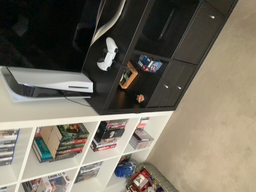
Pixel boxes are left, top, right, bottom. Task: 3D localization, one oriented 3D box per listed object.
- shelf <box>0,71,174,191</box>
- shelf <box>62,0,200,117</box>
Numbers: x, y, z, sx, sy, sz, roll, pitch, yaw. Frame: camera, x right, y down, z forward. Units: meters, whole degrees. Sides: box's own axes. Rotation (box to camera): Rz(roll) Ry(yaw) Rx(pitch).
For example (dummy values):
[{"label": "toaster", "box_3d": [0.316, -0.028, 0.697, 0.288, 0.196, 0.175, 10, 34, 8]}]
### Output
[{"label": "shelf", "box_3d": [-0.420, 0.320, 1.400, 0.440, 1.450, 0.780, 40, 116, 36]}, {"label": "shelf", "box_3d": [0.120, -0.630, 1.100, 0.440, 0.360, 1.470, 40, 116, 36]}]
